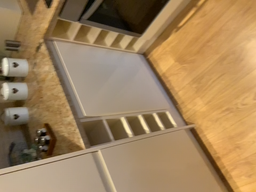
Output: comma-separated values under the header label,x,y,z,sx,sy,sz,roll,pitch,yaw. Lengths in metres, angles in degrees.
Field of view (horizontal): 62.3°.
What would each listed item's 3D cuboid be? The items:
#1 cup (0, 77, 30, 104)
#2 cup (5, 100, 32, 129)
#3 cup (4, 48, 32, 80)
label,x,y,z,sx,sy,sz,roll,pitch,yaw
cup,-0.680,-0.030,1.270,0.150,0.110,0.120,-20,77,44
cup,-0.660,0.110,1.270,0.110,0.100,0.120,-49,59,35
cup,-0.640,-0.180,1.230,0.110,0.100,0.140,-35,67,40
